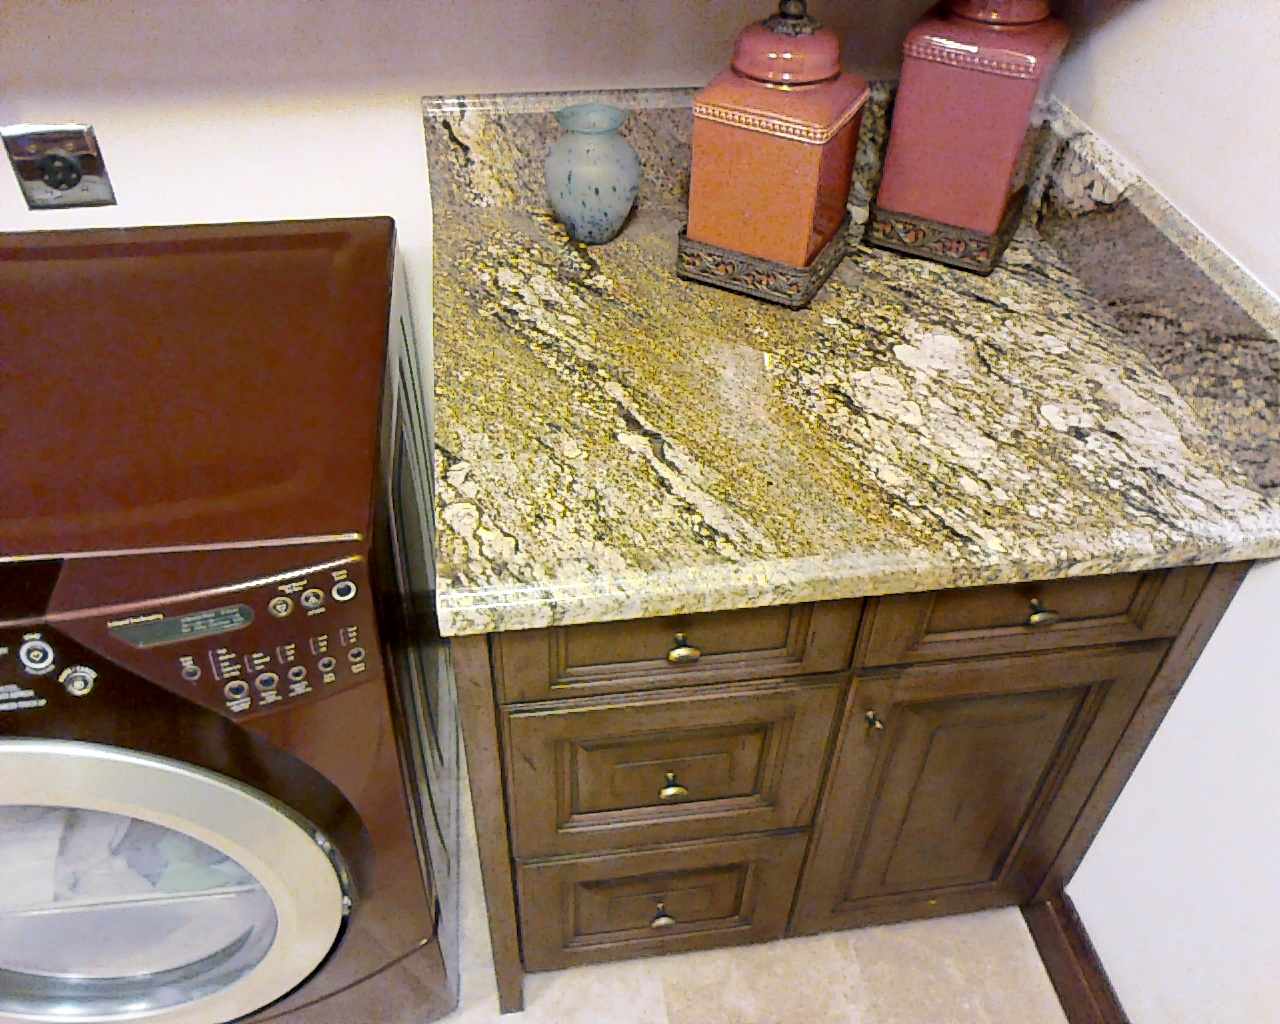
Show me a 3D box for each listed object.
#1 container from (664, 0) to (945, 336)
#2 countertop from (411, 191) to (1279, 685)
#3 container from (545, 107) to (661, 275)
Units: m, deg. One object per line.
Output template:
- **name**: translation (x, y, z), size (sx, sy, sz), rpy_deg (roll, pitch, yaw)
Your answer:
- **container**: translation (0.190, -0.440, 1.300), size (0.200, 0.320, 0.260), rpy_deg (27, 48, 26)
- **countertop**: translation (0.180, -0.160, 1.270), size (0.880, 0.060, 0.760), rpy_deg (-5, 42, -7)
- **container**: translation (-0.050, -0.420, 1.400), size (0.130, 0.160, 0.140), rpy_deg (-5, 42, -7)
